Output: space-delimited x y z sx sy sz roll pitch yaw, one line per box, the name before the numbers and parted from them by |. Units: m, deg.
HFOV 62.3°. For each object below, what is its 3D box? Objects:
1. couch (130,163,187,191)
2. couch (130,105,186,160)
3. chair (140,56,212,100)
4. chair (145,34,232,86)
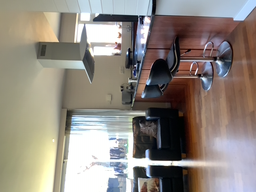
couch | 0.490 1.690 3.770 0.930 0.860 0.920 99 172 -74
couch | 0.510 0.750 4.080 0.960 0.860 0.910 99 172 -74
chair | 0.600 -0.240 2.810 0.410 0.840 0.510 -112 24 -84
chair | 0.630 -0.380 2.340 0.390 0.820 0.490 -112 24 -84
